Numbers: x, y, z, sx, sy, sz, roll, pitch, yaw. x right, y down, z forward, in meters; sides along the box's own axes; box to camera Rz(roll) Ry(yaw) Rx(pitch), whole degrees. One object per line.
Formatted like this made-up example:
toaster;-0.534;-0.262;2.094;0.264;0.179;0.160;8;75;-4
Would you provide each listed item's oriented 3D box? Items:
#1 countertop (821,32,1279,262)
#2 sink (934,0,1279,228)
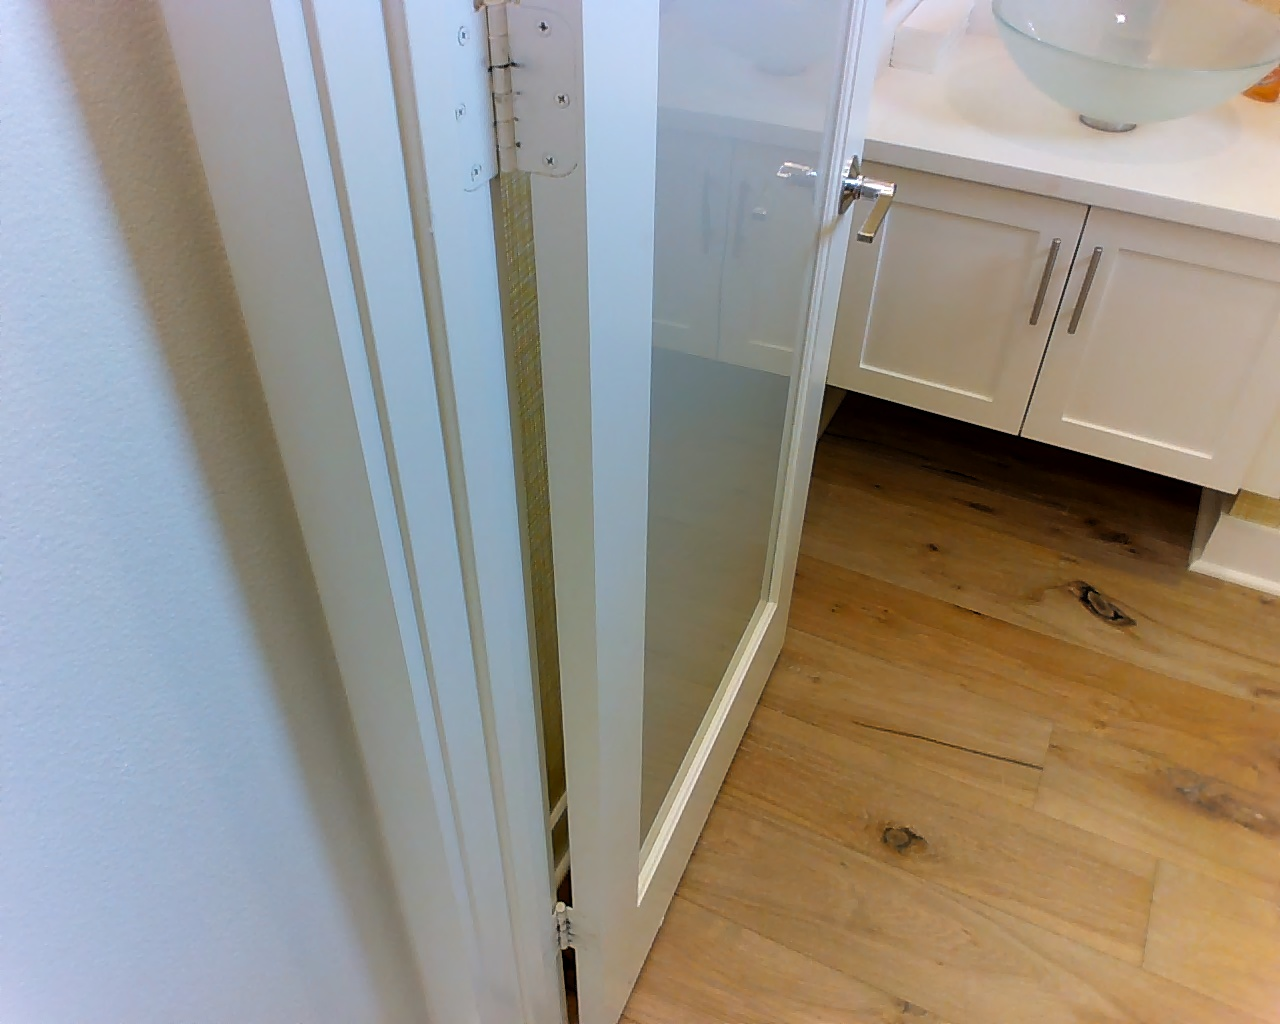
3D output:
countertop;0.840;-0.610;1.770;0.930;0.030;0.600;18;45;18
sink;0.800;-0.720;1.730;0.480;0.190;0.570;18;45;18
